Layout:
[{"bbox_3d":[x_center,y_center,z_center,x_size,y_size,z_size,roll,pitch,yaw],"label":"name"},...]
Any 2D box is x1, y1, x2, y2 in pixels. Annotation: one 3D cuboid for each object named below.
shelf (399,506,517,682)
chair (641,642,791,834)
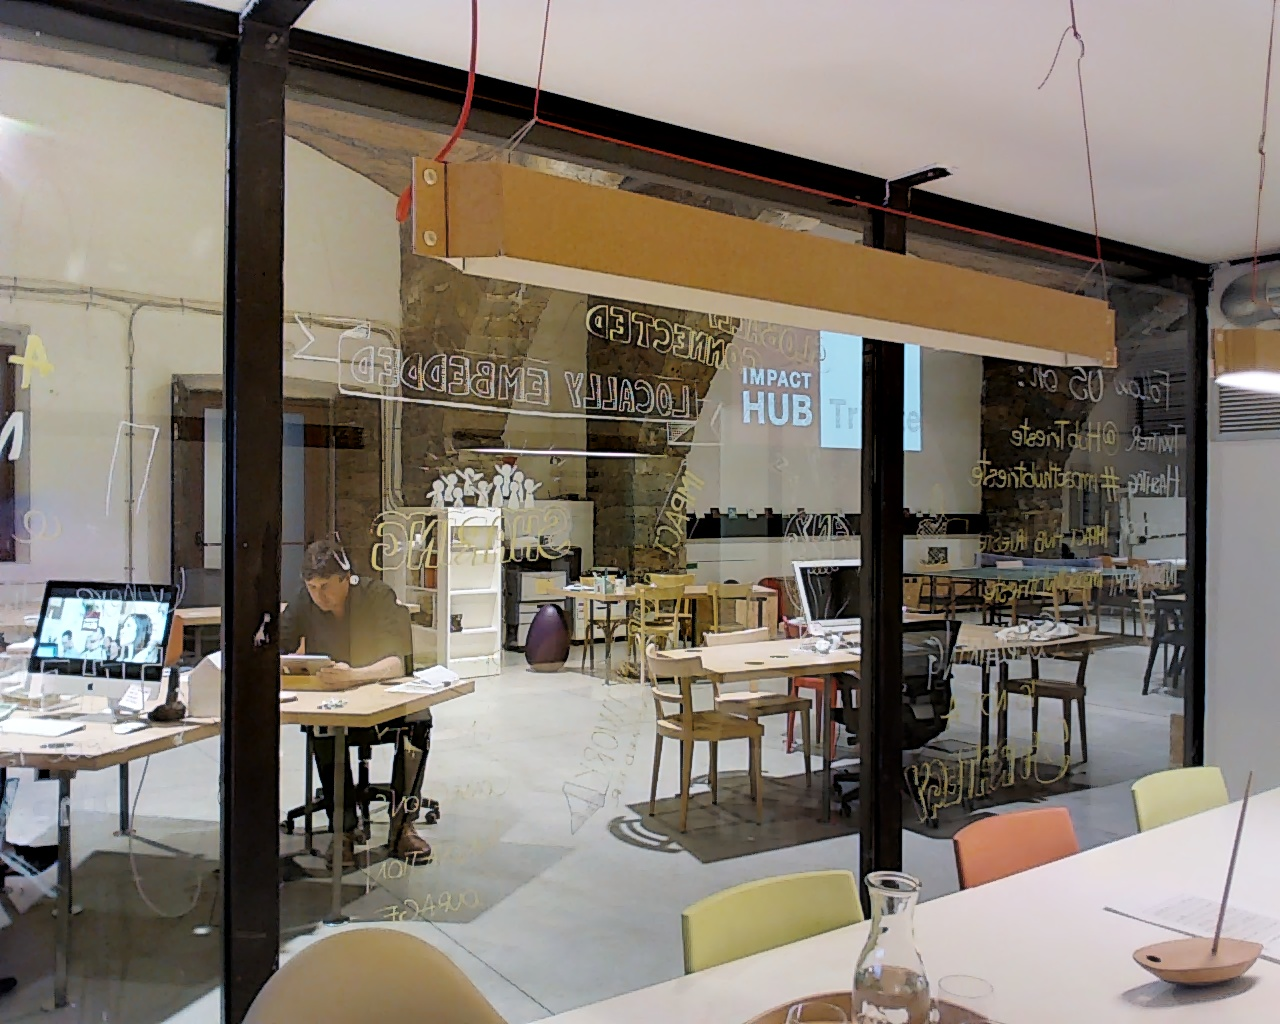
[{"bbox_3d":[-1.660,0.690,9.710,0.570,1.480,1.240,0,0,-35],"label":"shelf"},{"bbox_3d":[0.350,1.040,5.090,0.560,0.770,0.490,0,0,-20],"label":"chair"}]
